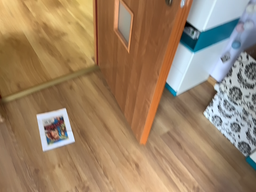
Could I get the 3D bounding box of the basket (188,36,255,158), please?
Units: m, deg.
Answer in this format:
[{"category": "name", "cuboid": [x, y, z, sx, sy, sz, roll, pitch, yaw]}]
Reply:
[{"category": "basket", "cuboid": [0.820, 0.020, 1.510, 0.350, 0.640, 0.490, -25, 57, -25]}]
